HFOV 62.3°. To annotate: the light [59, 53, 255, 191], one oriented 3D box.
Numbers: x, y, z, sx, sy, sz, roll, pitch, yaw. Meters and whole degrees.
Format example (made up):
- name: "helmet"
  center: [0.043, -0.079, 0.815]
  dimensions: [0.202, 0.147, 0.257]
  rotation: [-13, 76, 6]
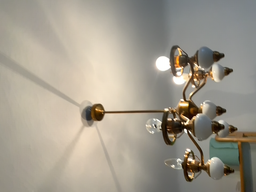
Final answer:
- name: "light"
  center: [0.330, 0.330, 1.300]
  dimensions: [1.210, 0.920, 0.600]
  rotation: [-16, -165, -14]
